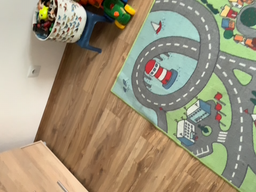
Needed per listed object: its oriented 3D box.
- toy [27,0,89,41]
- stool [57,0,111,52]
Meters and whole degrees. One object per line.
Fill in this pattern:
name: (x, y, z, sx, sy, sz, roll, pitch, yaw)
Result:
toy: (-0.390, -0.450, 1.200, 0.240, 0.230, 0.230, 4, 98, 31)
stool: (-0.290, -0.450, 1.390, 0.230, 0.180, 0.230, 36, 113, 22)
